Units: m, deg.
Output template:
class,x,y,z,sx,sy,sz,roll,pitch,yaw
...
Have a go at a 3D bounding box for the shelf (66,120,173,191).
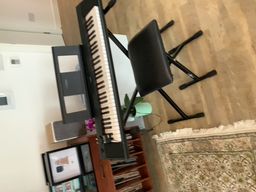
class,x,y,z,sx,sy,sz,roll,pitch,yaw
shelf,-0.050,0.830,1.910,0.540,0.680,1.070,-20,79,53
